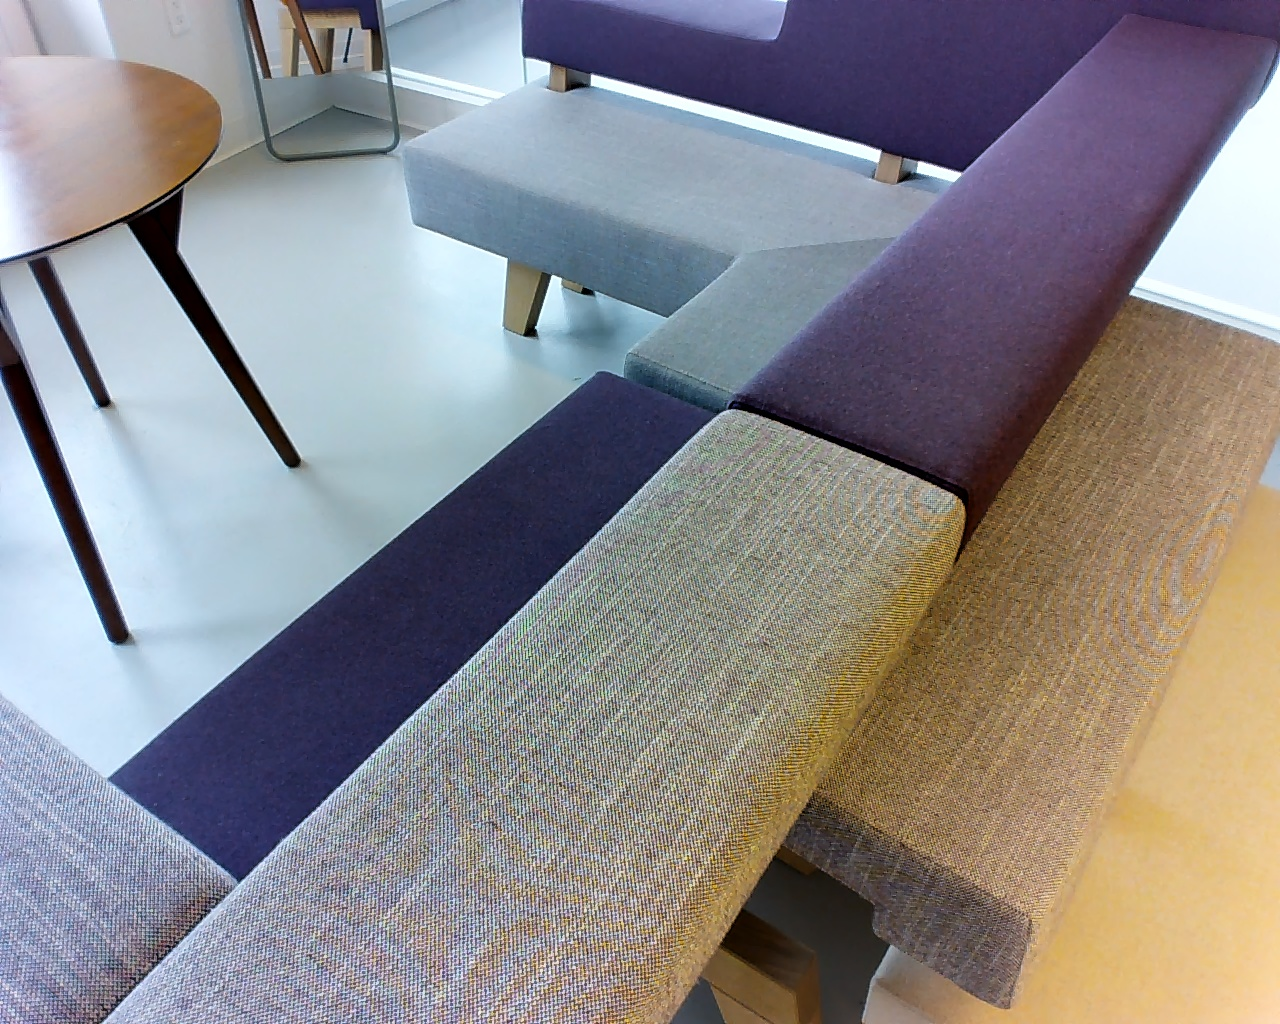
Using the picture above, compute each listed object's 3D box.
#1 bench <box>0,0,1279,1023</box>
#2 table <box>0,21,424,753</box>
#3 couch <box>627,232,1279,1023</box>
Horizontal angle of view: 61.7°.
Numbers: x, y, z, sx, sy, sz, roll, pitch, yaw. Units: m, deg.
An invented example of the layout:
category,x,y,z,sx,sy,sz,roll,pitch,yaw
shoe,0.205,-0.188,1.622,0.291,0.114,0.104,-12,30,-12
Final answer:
category,x,y,z,sx,sy,sz,roll,pitch,yaw
bench,-0.140,-0.300,1.700,1.680,1.140,2.610,24,47,24
table,-1.060,-0.290,1.950,0.880,0.780,0.840,24,47,25
couch,0.670,0.310,1.330,0.860,0.700,1.130,26,48,26
